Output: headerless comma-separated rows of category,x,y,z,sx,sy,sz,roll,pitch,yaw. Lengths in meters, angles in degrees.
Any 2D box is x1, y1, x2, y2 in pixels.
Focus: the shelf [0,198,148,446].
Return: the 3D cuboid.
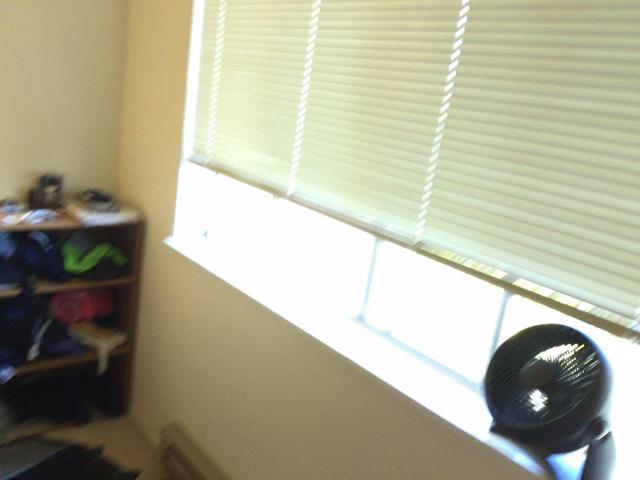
shelf,-1.110,0.300,2.370,0.620,0.890,0.350,-4,18,-43
